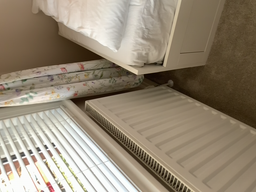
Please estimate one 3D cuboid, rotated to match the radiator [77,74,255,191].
[{"bbox_3d":[0.400,0.230,0.880,1.280,0.660,0.170,31,123,41],"label":"radiator"}]
